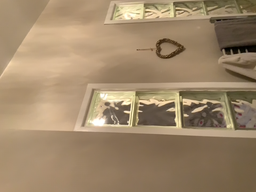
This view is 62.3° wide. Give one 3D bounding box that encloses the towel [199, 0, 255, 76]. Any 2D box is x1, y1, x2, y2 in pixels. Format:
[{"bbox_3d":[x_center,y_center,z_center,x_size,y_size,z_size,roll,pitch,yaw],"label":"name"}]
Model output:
[{"bbox_3d":[0.750,-0.360,1.230,0.150,0.580,0.520,80,-166,-53],"label":"towel"}]
